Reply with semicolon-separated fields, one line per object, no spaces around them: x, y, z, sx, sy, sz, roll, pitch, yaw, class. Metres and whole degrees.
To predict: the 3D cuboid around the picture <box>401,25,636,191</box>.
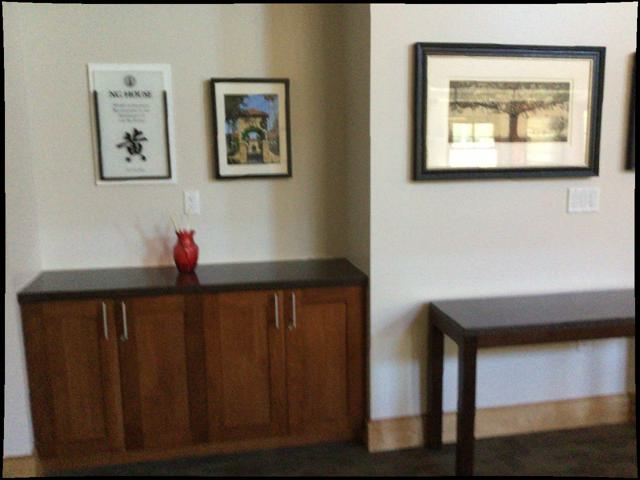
0.869;-0.561;2.540;0.989;0.641;0.080;2;9;-9;picture

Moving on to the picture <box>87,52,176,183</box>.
-0.889;-0.571;2.740;0.390;0.581;0.060;2;9;-9;picture

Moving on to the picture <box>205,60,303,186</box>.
-0.330;-0.571;2.870;0.460;0.581;0.070;2;9;-9;picture

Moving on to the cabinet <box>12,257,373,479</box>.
-0.539;0.571;2.600;1.489;0.931;0.190;2;9;-9;cabinet

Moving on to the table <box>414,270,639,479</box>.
1.169;0.591;2.540;1.339;0.791;0.530;2;9;-9;table
